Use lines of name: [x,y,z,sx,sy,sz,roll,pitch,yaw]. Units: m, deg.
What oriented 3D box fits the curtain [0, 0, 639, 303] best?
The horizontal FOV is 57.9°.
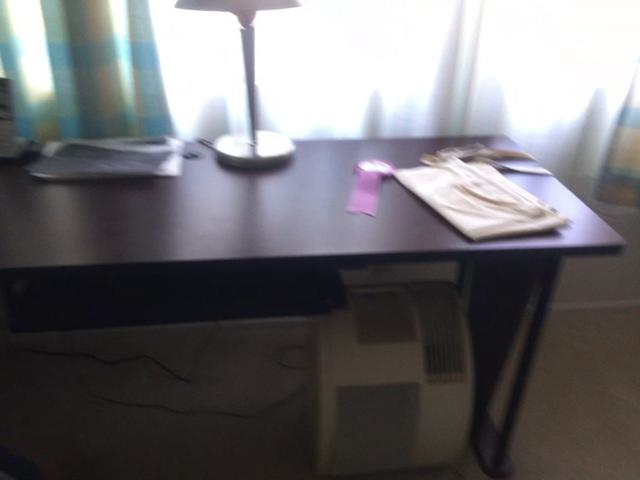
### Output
curtain: [0.340,-0.600,1.400,2.910,1.540,0.310,-1,28,-7]
